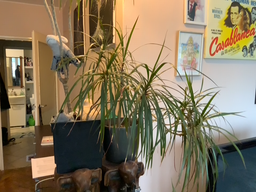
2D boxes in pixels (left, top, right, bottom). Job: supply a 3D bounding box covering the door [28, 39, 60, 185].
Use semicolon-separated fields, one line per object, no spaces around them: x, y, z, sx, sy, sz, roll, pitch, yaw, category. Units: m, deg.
-1.140;0.190;2.960;0.070;1.810;0.730;1;7;2;door
